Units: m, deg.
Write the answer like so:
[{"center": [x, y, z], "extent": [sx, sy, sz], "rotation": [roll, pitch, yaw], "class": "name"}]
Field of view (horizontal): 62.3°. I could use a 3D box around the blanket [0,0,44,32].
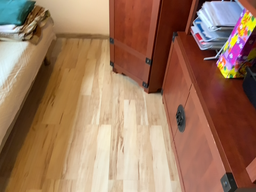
[{"center": [-1.040, -0.690, 1.690], "extent": [0.590, 0.130, 0.430], "rotation": [2, 45, -2], "class": "blanket"}]
